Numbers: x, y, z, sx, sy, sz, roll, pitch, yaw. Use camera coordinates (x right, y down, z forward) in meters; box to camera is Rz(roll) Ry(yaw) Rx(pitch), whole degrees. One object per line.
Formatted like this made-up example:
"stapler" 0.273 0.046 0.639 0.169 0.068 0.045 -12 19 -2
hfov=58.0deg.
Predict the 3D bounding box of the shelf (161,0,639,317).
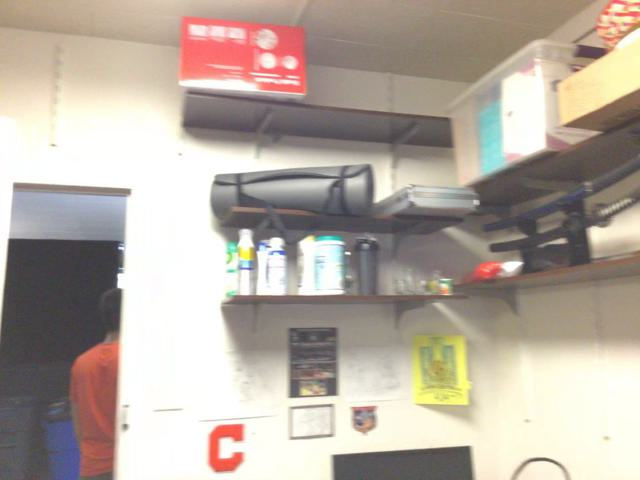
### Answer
"shelf" 0.540 -0.430 1.040 1.440 1.070 3.000 3 -9 -17
